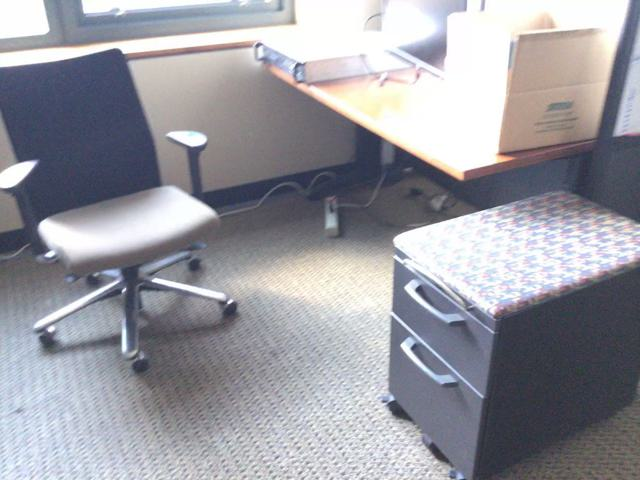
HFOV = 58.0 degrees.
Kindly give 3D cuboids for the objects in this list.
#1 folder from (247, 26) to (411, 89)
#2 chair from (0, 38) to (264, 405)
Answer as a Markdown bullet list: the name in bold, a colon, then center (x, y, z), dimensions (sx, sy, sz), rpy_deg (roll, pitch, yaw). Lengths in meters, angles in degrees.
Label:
- **folder**: center (0.020, -0.820, 2.540), dimensions (0.510, 0.130, 0.590), rpy_deg (-16, 28, -19)
- **chair**: center (-0.710, -0.130, 1.980), dimensions (0.700, 0.930, 0.690), rpy_deg (-18, 29, -24)
